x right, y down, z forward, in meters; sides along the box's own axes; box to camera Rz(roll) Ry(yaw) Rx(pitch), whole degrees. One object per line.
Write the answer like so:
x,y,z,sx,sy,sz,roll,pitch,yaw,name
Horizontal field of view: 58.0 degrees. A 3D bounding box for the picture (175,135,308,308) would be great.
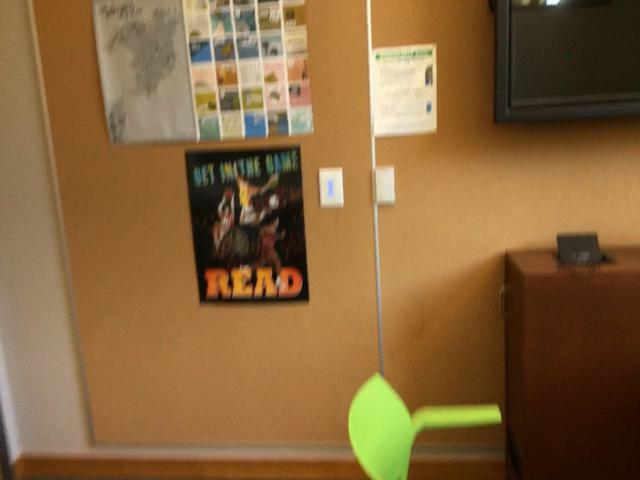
-0.280,-0.060,2.100,0.430,0.600,0.100,-2,6,10,picture
